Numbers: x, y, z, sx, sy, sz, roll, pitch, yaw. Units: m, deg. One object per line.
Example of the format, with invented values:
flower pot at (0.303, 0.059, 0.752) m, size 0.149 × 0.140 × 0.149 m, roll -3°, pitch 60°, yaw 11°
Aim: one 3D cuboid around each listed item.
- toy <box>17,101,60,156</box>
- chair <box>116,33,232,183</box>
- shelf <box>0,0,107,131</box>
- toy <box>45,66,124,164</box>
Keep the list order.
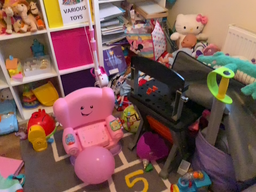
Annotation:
toy at (-0.680, 0.230, 1.600) m, size 0.240 × 0.180 × 0.340 m, roll -14°, pitch 39°, yaw -18°
chair at (0.240, 0.070, 1.360) m, size 0.400 × 0.740 × 0.470 m, roll -31°, pitch 46°, yaw -34°
shelf at (-0.960, -0.320, 1.560) m, size 1.480 × 1.090 × 0.430 m, roll -16°, pitch 40°, yaw -21°
toy at (-0.310, 0.120, 1.560) m, size 0.420 × 0.450 × 0.440 m, roll -15°, pitch 39°, yaw -19°
